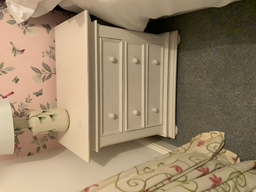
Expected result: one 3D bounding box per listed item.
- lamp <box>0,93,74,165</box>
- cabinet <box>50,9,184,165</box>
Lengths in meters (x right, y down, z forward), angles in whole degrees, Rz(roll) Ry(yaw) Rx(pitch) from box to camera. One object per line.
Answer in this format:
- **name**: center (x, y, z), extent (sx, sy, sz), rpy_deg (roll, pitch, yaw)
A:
- **lamp**: center (-0.480, 0.130, 0.950), extent (0.200, 0.410, 0.250), rpy_deg (9, 101, 53)
- **cabinet**: center (-0.060, -0.070, 1.250), extent (0.420, 0.630, 0.660), rpy_deg (11, 103, 52)
